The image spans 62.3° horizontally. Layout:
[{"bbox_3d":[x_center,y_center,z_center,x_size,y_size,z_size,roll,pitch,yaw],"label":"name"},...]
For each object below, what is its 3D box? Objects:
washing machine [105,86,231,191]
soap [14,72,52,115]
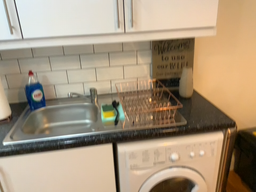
[{"bbox_3d":[0.190,0.490,1.500,0.600,0.920,0.630,-5,23,-8],"label":"washing machine"},{"bbox_3d":[-0.640,-0.020,1.440,0.110,0.240,0.160,15,28,35],"label":"soap"}]
